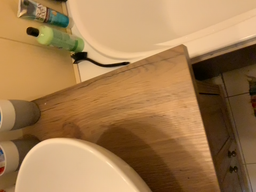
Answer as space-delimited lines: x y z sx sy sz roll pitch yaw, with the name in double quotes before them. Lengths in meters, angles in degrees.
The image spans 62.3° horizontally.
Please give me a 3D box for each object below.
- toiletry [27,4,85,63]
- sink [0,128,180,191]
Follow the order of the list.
"toiletry" -0.250 -0.210 0.750 0.090 0.160 0.140 -13 83 30
"sink" -0.070 0.280 0.380 0.340 0.120 0.380 -15 82 29
